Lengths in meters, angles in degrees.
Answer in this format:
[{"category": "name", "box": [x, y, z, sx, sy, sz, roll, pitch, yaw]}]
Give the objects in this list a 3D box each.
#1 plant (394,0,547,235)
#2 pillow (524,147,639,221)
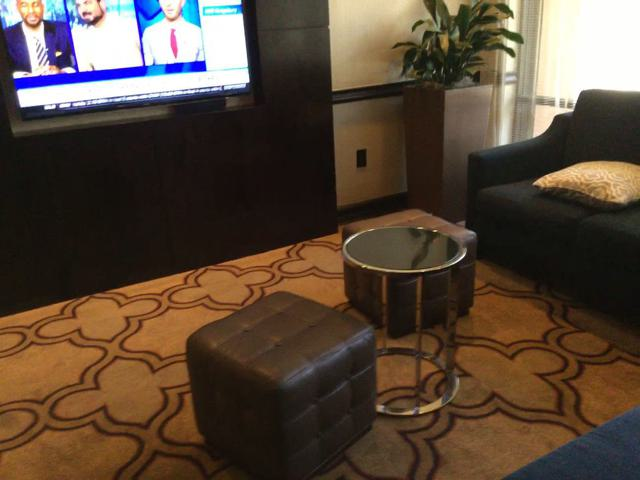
[{"category": "plant", "box": [0.960, -0.840, 3.850, 0.680, 1.380, 0.630, -13, 23, -24]}, {"category": "pillow", "box": [1.390, -0.290, 2.810, 0.520, 0.170, 0.530, -13, 23, -24]}]
